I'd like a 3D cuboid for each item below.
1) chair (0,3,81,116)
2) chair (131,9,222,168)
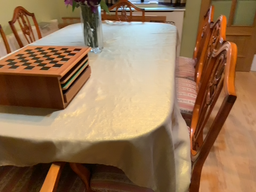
[{"bbox_3d":[-0.810,-0.350,2.070,0.490,0.970,0.480,-2,30,-1],"label":"chair"},{"bbox_3d":[0.290,-0.050,1.490,0.440,0.980,0.470,5,30,11],"label":"chair"}]
